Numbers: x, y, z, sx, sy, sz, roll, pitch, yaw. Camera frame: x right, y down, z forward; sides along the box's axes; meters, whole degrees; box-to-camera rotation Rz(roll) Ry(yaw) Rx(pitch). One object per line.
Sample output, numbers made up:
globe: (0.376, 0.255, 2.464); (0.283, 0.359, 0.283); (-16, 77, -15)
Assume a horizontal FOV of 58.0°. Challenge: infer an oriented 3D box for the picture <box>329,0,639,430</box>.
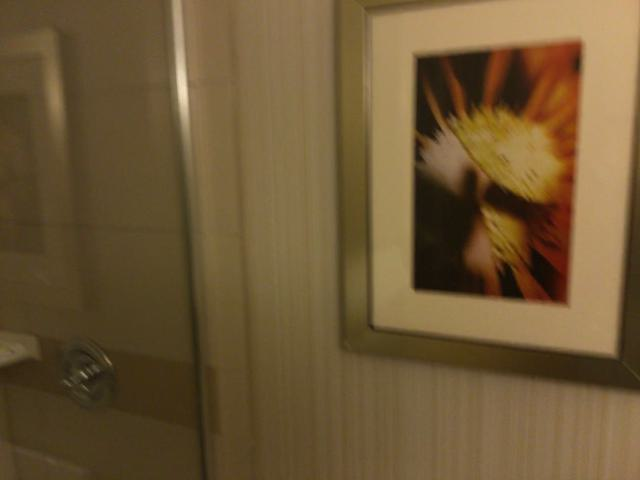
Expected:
picture: (0.260, -0.090, 0.890); (0.520, 0.690, 0.040); (7, 14, 26)
